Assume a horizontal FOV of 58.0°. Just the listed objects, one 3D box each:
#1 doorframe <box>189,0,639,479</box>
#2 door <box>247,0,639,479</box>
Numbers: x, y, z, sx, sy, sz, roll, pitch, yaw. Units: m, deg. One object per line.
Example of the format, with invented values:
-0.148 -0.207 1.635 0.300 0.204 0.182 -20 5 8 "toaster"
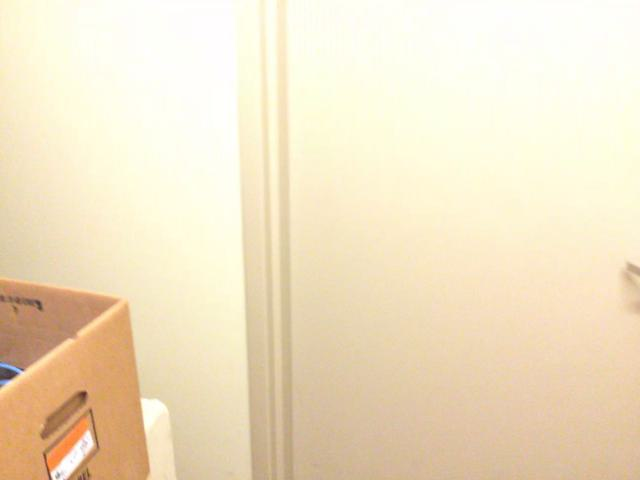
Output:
0.290 0.200 1.190 0.990 1.450 0.140 4 21 17 "doorframe"
0.310 0.190 1.230 0.840 1.440 0.090 4 21 17 "door"
